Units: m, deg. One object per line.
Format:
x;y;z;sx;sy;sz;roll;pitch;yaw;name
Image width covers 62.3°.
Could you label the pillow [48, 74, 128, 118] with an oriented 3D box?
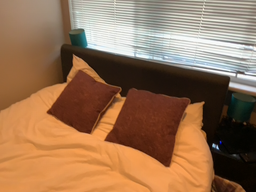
-0.330;0.000;1.750;0.500;0.420;0.140;21;89;40;pillow
